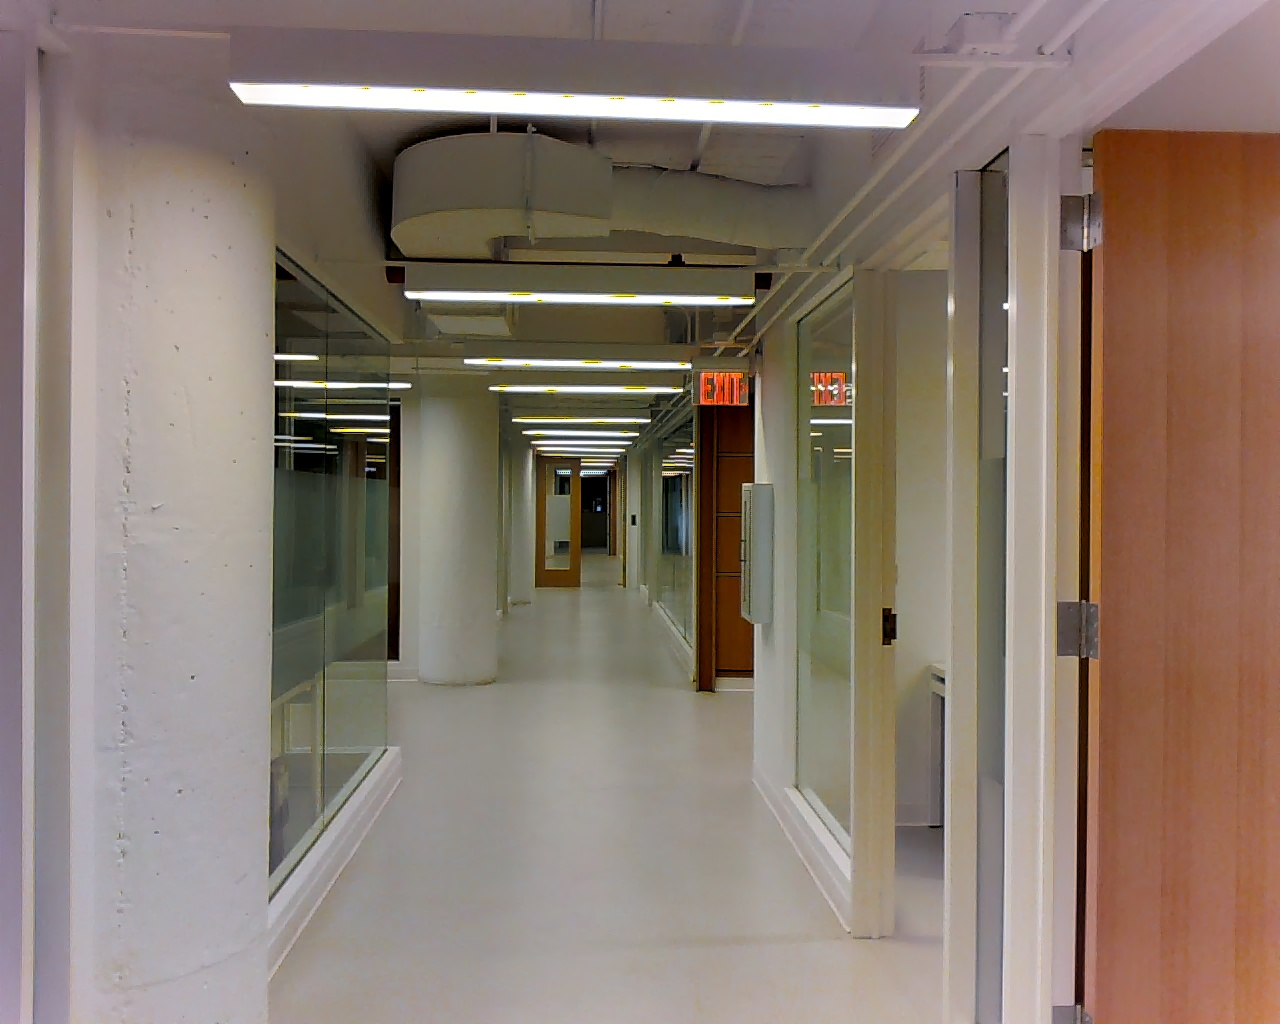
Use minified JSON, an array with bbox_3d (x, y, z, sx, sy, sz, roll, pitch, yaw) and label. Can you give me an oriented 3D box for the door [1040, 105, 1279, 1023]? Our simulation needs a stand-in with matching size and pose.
[{"bbox_3d":[1.380,0.310,2.250,1.060,2.261,0.080,1,0,-4],"label":"door"}]
